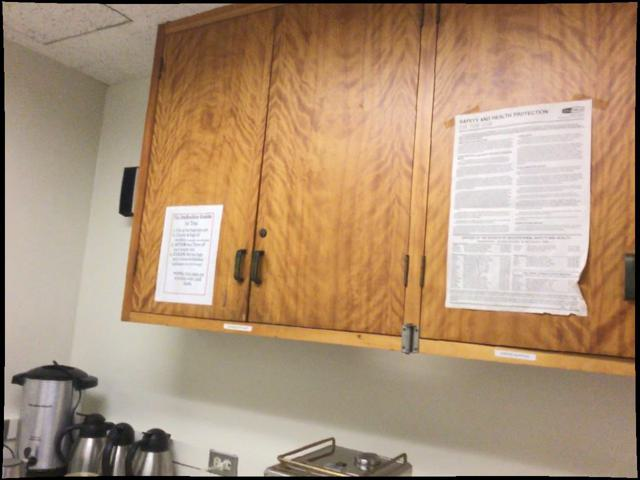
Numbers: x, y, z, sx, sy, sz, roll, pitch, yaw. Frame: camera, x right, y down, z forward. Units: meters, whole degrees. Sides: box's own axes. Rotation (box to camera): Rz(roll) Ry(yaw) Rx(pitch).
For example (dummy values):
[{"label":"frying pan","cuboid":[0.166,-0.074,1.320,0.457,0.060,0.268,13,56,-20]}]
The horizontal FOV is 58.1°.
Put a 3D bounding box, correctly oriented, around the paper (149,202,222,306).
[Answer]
[{"label":"paper","cuboid":[-0.389,0.040,1.660,0.230,0.291,0.020,-1,-8,30]}]
